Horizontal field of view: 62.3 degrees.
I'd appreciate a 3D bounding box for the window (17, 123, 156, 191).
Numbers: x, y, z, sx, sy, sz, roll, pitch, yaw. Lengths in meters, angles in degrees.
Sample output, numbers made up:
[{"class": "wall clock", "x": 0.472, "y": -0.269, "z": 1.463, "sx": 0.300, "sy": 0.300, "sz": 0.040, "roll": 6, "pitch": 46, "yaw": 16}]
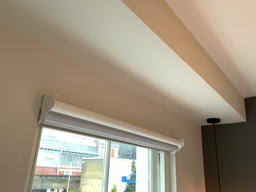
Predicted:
[{"class": "window", "x": -0.140, "y": 0.820, "z": 1.200, "sx": 0.070, "sy": 1.130, "sz": 1.080, "roll": -12, "pitch": -24, "yaw": 35}]
